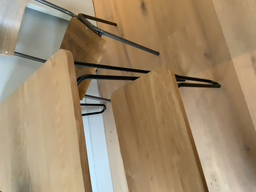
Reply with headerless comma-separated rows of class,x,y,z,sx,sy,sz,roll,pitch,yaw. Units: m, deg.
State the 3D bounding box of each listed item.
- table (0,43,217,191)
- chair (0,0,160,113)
table,-0.100,0.530,1.050,0.780,0.760,1.180,-24,71,41
chair,-0.350,-0.260,1.280,0.570,0.830,0.450,46,118,36
